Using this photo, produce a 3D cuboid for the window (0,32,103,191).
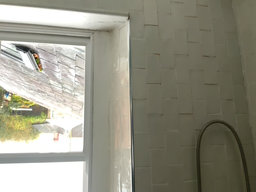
[{"bbox_3d":[-0.660,0.260,1.060,1.060,1.210,0.080,1,169,-12],"label":"window"}]
